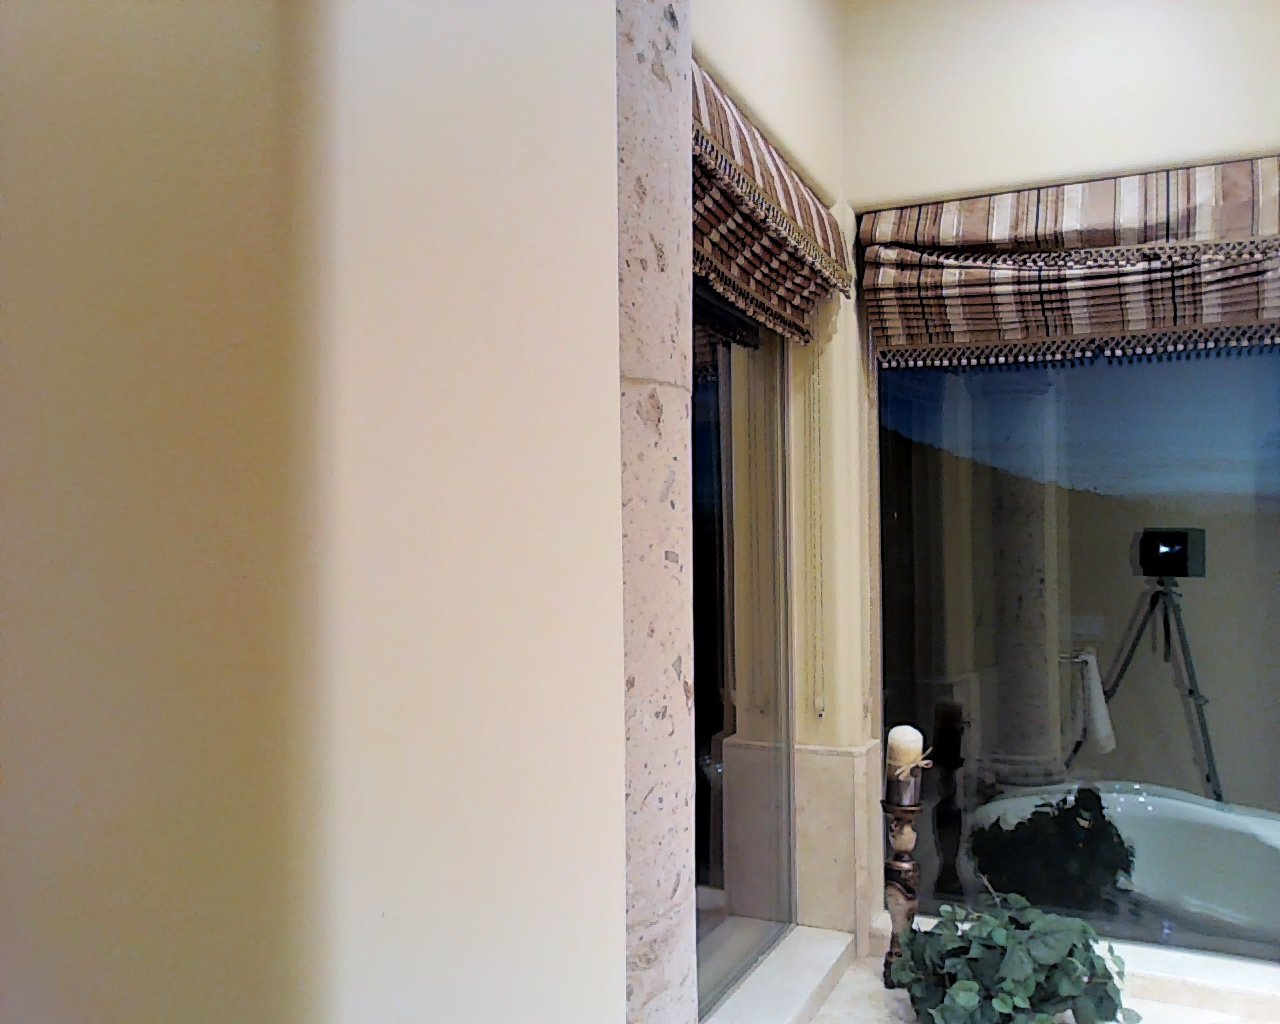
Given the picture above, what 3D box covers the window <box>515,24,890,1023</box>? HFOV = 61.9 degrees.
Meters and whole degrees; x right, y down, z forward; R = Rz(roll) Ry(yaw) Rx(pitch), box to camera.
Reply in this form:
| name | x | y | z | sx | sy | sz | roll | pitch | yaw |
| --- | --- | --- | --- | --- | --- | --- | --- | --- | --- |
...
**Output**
| name | x | y | z | sx | sy | sz | roll | pitch | yaw |
| --- | --- | --- | --- | --- | --- | --- | --- | --- | --- |
| window | 0.210 | 0.170 | 2.130 | 0.270 | 1.710 | 1.250 | -1 | -2 | 26 |
